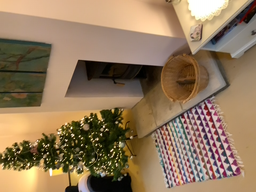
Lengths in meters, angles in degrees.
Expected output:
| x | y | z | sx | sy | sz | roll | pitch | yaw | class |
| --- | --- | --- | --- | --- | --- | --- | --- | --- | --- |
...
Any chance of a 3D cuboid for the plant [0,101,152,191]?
| x | y | z | sx | sy | sz | roll | pitch | yaw | class |
| --- | --- | --- | --- | --- | --- | --- | --- | --- | --- |
| -0.700 | 0.610 | 2.700 | 0.840 | 1.660 | 0.800 | -47 | 50 | 52 | plant |
